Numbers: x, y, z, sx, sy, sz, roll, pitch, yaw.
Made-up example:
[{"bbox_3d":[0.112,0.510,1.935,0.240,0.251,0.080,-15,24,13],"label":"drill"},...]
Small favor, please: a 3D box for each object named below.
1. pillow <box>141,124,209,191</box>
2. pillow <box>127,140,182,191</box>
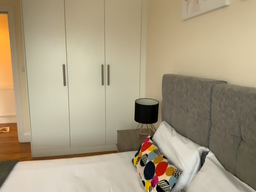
[{"bbox_3d":[0.300,0.410,1.560,0.140,0.330,0.630,-20,1,-12],"label":"pillow"},{"bbox_3d":[0.160,0.510,1.550,0.130,0.270,0.570,-22,0,-13],"label":"pillow"}]
